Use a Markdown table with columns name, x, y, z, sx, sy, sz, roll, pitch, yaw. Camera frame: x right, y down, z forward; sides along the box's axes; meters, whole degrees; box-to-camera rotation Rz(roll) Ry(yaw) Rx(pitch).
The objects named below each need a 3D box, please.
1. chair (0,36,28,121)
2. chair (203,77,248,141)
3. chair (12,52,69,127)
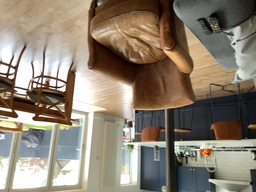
| name | x | y | z | sx | sy | sz | roll | pitch | yaw |
| --- | --- | --- | --- | --- | --- | --- | --- | --- | --- |
| chair | -1.560 | -0.190 | 2.470 | 0.510 | 0.870 | 0.430 | -12 | 159 | 40 |
| chair | 1.610 | 0.250 | 3.530 | 0.480 | 0.940 | 0.470 | -12 | 159 | 39 |
| chair | -1.180 | -0.050 | 2.910 | 0.510 | 0.870 | 0.430 | -12 | 159 | 40 |
